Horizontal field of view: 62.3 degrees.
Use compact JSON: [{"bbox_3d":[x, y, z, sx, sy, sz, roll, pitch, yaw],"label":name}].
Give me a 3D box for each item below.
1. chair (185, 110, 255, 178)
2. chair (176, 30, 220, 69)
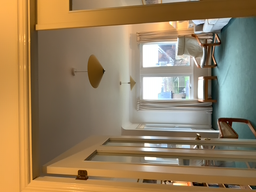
[{"bbox_3d":[1.470,0.740,3.490,0.780,0.950,0.750,-69,-23,-66],"label":"chair"},{"bbox_3d":[1.780,-1.230,5.590,0.790,0.960,0.680,-80,-14,-50],"label":"chair"}]
